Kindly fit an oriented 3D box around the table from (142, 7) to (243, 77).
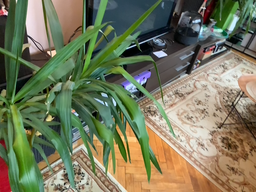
[{"bbox_3d":[0.880,-0.790,2.820,0.750,0.360,1.210,36,45,25],"label":"table"}]
